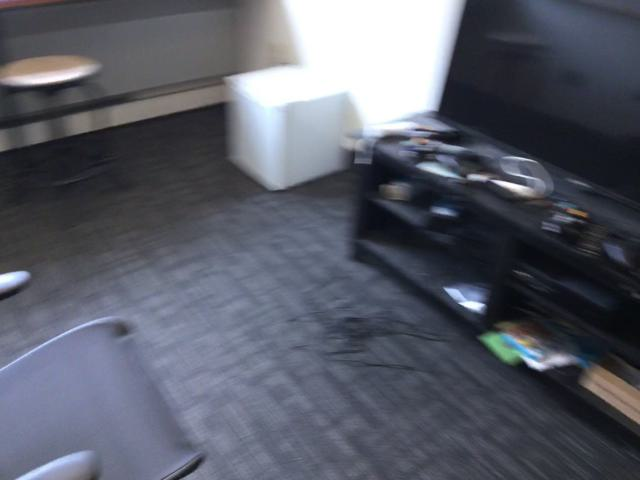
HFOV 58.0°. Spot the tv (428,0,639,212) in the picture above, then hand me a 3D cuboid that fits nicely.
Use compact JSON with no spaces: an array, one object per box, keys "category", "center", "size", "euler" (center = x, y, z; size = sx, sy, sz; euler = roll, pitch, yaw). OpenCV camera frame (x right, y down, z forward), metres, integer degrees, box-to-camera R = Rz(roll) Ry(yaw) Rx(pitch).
[{"category":"tv","center":[0.790,-0.460,1.530],"size":[0.140,0.700,1.240],"euler":[-21,31,-30]}]

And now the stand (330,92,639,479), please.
[{"category":"stand","center":[0.690,0.070,1.900],"size":[0.530,0.680,1.480],"euler":[-21,37,-30]}]

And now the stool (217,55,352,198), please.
[{"category":"stool","center":[-0.180,-0.600,2.960],"size":[0.460,0.520,0.500],"euler":[-21,37,-30]}]
